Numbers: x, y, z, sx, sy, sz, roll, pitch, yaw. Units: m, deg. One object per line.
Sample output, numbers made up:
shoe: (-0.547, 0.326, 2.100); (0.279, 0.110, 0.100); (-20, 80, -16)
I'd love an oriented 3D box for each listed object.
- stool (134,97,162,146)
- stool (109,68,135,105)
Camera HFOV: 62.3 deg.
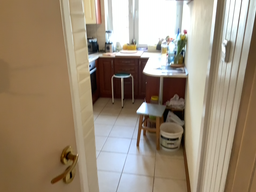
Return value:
stool: (0.260, 0.310, 2.680); (0.290, 0.480, 0.330); (5, 21, 14)
stool: (-0.100, -0.180, 3.870); (0.400, 0.570, 0.380); (3, 21, 10)
